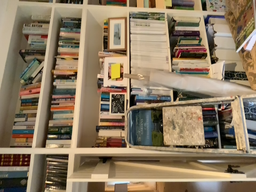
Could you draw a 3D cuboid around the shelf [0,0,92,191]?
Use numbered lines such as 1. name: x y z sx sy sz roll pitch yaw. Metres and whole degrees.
1. shelf: -0.690 -0.800 1.920 0.310 0.660 4.350 102 168 -71
